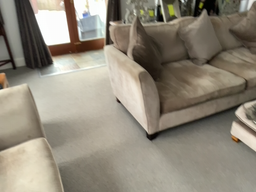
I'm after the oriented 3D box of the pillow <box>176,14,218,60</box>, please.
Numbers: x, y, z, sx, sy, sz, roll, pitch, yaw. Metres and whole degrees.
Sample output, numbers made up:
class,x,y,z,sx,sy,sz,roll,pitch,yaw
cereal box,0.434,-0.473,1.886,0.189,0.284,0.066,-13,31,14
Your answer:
class,x,y,z,sx,sy,sz,roll,pitch,yaw
pillow,0.810,-0.690,2.430,0.550,0.430,0.140,-23,13,-40
